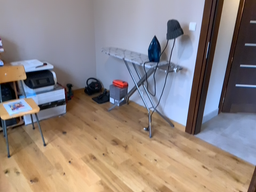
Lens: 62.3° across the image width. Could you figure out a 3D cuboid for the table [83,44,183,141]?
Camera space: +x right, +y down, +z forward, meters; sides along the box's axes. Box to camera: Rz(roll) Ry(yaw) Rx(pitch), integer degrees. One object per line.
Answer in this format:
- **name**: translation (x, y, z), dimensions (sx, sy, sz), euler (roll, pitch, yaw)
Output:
- **table**: translation (-0.050, -0.160, 3.080), dimensions (0.400, 0.910, 1.600), euler (-17, 29, -39)
